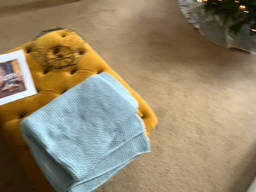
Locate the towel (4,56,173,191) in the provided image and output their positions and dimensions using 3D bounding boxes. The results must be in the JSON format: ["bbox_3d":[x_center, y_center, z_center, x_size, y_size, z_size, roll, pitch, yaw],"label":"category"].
[{"bbox_3d":[-0.150,0.150,0.910,0.470,0.250,0.420,-37,70,-24],"label":"towel"}]
